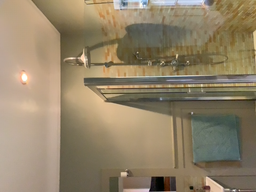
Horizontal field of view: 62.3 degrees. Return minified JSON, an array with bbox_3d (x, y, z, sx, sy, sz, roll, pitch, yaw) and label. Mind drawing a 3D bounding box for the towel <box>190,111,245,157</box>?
[{"bbox_3d":[1.060,0.450,2.540,0.090,0.590,0.520,88,180,-84],"label":"towel"}]
